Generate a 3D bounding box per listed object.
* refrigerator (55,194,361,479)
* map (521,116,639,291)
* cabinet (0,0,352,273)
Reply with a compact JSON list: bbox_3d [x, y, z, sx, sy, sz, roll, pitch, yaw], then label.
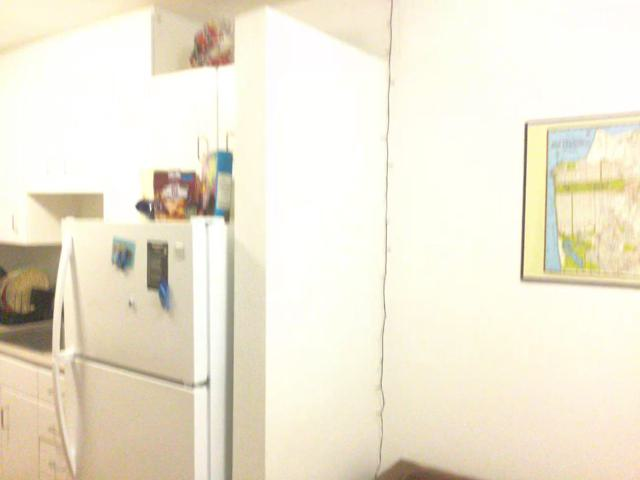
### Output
[{"bbox_3d":[-0.400,0.630,2.130,0.770,1.550,0.770,3,2,37],"label":"refrigerator"},{"bbox_3d":[0.920,-0.100,1.610,0.680,0.480,0.070,3,2,39],"label":"map"},{"bbox_3d":[-0.890,-0.460,2.640,2.140,1.040,0.470,3,2,37],"label":"cabinet"}]
